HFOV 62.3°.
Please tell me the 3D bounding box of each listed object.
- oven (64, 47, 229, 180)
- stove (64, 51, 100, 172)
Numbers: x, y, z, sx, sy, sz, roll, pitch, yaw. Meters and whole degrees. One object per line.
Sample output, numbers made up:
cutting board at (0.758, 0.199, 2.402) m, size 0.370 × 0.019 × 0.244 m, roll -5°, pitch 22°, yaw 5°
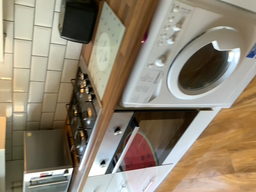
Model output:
oven at (0.080, 0.120, 1.600) m, size 0.580 × 0.920 × 0.640 m, roll 63°, pitch 140°, yaw 41°
stove at (-0.330, 0.100, 1.390) m, size 0.530 × 0.010 × 0.590 m, roll 63°, pitch 140°, yaw 41°
